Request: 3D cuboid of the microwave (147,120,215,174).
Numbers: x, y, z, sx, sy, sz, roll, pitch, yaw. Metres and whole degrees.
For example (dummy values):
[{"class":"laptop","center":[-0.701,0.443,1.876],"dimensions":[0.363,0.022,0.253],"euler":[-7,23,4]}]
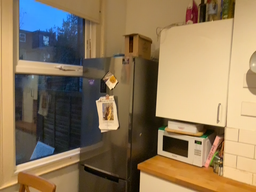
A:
[{"class":"microwave","center":[0.490,0.450,2.000],"dimensions":[0.540,0.330,0.280],"euler":[5,5,37]}]
